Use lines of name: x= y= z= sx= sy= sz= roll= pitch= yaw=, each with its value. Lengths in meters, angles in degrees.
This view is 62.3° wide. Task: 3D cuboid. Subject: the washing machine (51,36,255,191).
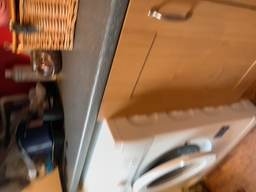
washing machine: x=0.100 y=0.130 z=1.260 sx=0.730 sy=0.930 sz=0.590 roll=63 pitch=145 yaw=37
